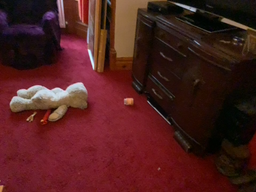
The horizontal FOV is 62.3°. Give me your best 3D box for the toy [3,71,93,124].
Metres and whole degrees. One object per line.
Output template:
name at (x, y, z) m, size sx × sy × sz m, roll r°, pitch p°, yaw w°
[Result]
toy at (-0.770, -0.010, 2.140) m, size 0.760 × 0.230 × 0.470 m, roll -6°, pitch 37°, yaw -16°
